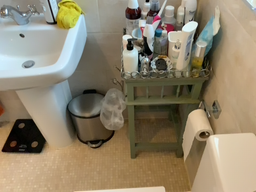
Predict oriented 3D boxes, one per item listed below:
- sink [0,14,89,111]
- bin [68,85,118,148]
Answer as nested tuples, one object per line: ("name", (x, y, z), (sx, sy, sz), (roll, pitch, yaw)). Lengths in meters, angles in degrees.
("sink", (-0.490, -0.170, 0.950), (0.560, 0.180, 0.460), (-2, 46, -1))
("bin", (-0.210, 0.140, 1.420), (0.270, 0.330, 0.270), (-2, 46, 0))
